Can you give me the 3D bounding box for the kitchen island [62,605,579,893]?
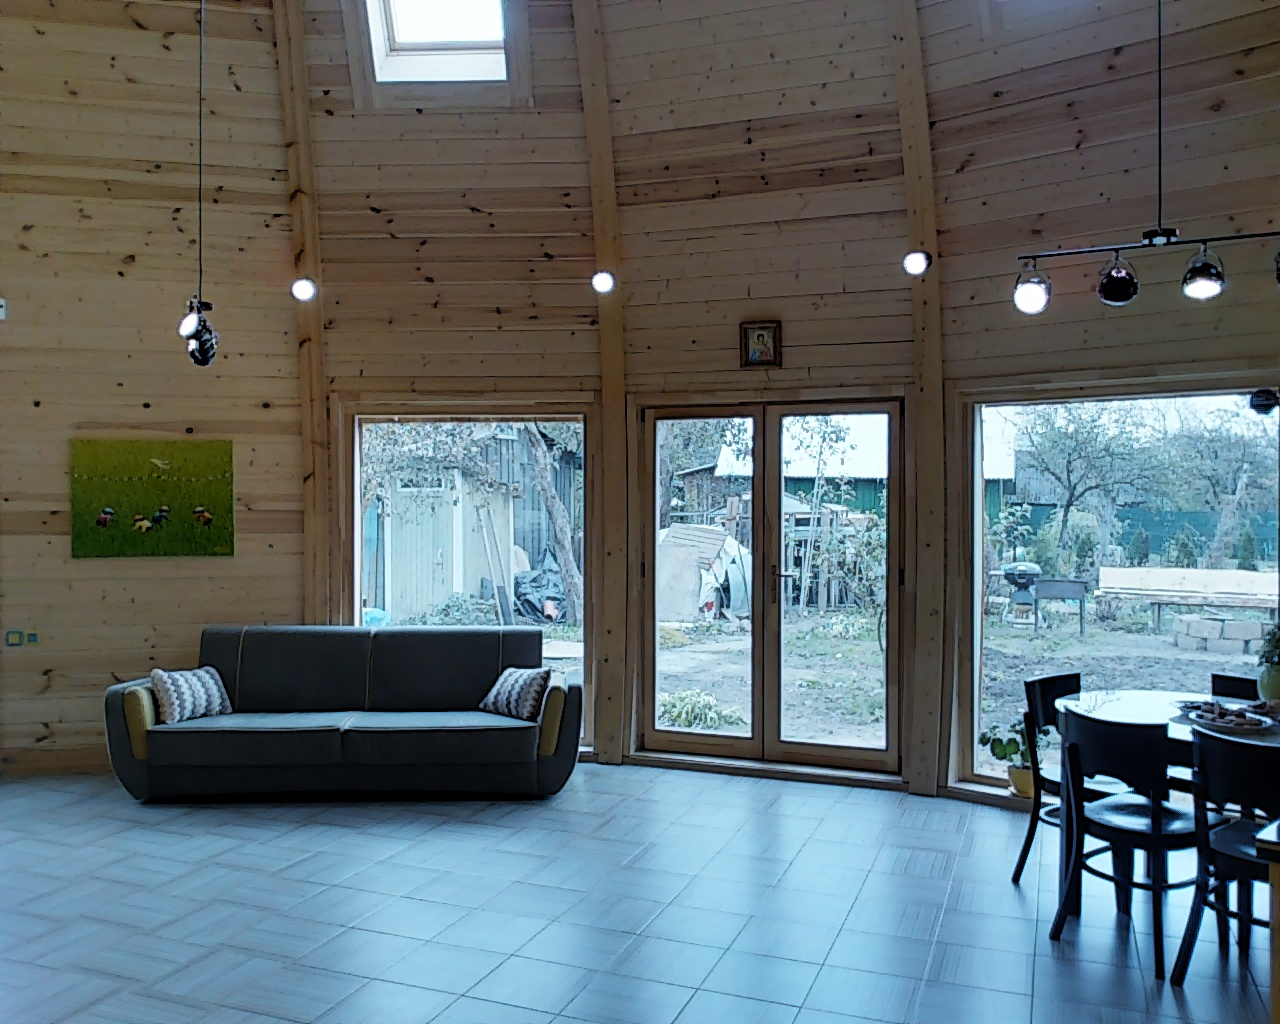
[{"bbox_3d":[-1.579,1.070,5.580,2.300,0.970,1.150,0,0,-41],"label":"kitchen island"}]
